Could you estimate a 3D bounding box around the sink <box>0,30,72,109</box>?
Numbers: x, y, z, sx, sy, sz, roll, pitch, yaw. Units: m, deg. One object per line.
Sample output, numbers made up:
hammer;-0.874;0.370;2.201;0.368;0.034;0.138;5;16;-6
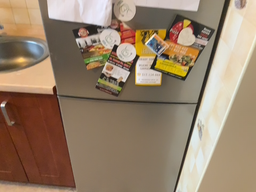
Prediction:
sink;-0.640;-0.180;1.190;0.490;0.190;0.490;5;37;3
